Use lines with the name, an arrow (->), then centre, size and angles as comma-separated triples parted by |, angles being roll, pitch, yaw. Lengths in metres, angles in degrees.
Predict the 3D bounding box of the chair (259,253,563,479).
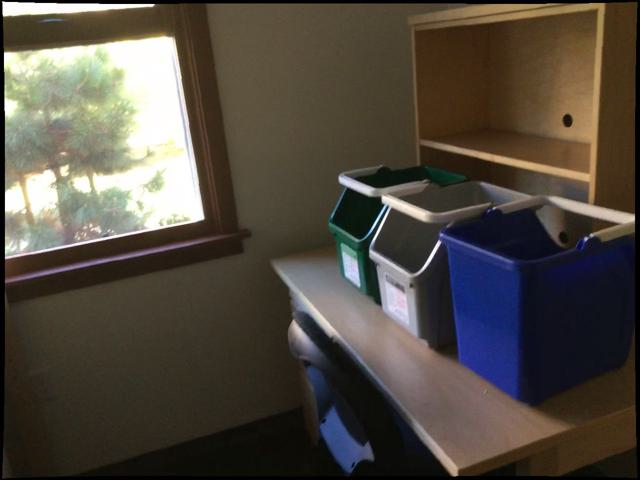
chair -> 0.209, 0.582, 1.490 | 0.489, 0.892, 0.550 | -12, 20, -20
